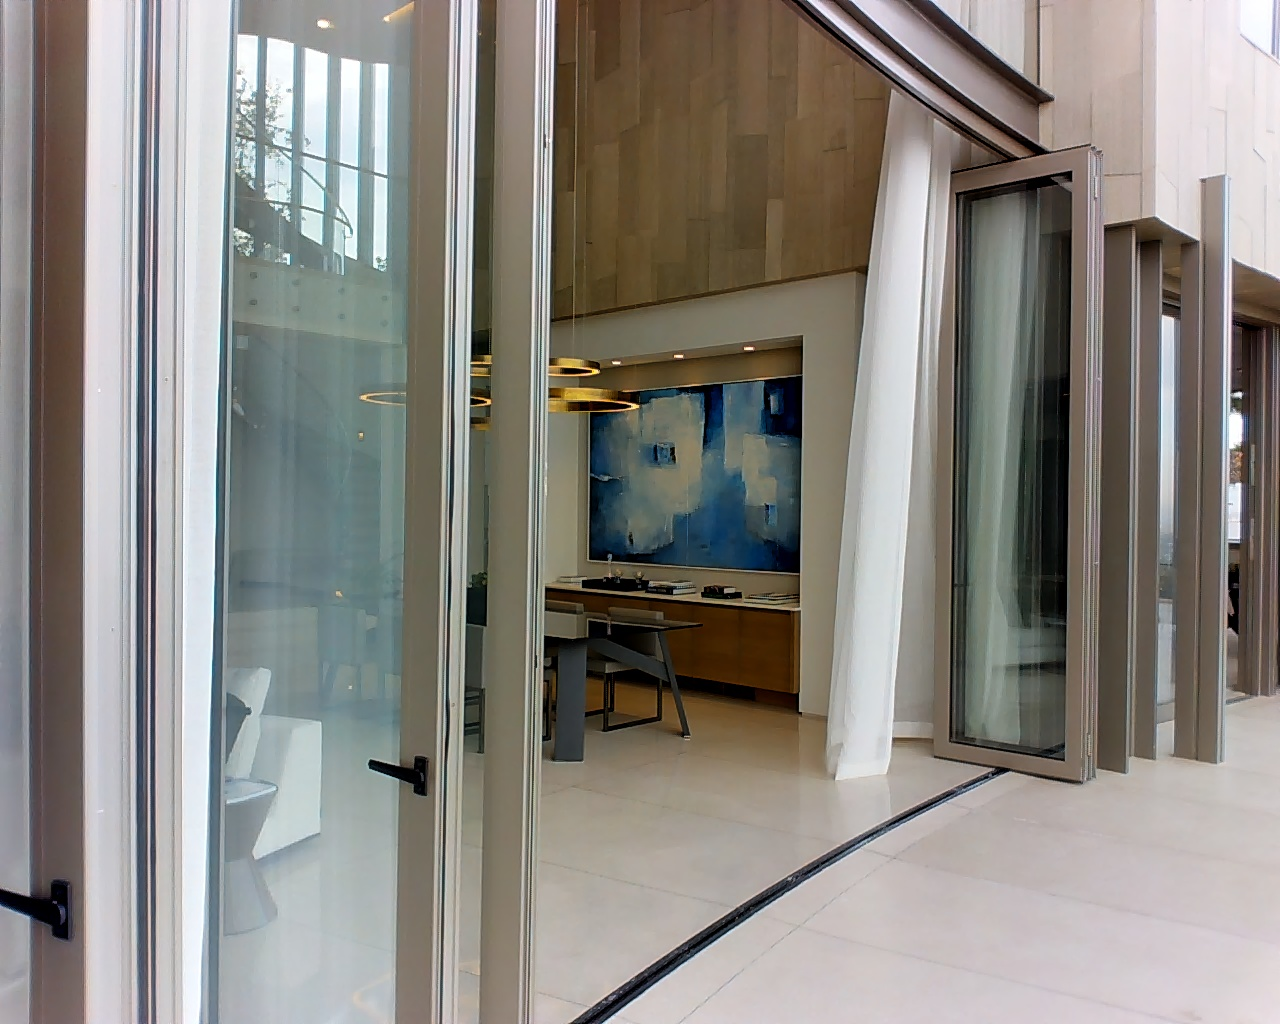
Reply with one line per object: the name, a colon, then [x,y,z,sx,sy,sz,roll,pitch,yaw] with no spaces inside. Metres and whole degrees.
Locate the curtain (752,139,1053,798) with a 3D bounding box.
curtain: [1.600,-0.230,6.550,1.310,3.461,1.240,0,0,-44]
